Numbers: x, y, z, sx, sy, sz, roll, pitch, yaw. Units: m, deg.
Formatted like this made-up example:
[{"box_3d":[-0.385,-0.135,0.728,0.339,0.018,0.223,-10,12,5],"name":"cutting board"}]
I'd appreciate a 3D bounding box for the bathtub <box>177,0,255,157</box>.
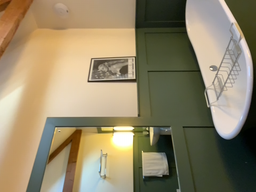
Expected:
[{"box_3d":[0.960,-0.470,1.820,0.730,0.660,1.760,90,179,-51],"name":"bathtub"}]
